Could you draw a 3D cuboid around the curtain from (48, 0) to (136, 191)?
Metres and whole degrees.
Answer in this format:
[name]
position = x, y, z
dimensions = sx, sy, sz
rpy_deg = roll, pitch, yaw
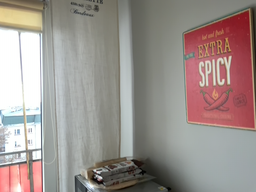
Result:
[curtain]
position = -0.210, -0.070, 1.270
dimensions = 0.470, 1.670, 0.100
rpy_deg = -2, -1, -26

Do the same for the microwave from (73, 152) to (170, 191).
[microwave]
position = -0.050, 0.510, 1.080
dimensions = 0.350, 0.320, 0.390
rpy_deg = -2, -1, -30
